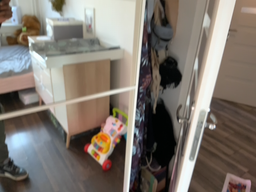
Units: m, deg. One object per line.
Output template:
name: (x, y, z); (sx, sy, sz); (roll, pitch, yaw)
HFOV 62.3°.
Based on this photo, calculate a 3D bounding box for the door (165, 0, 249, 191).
door: (0.330, 0.050, 1.080); (0.080, 2.030, 0.820); (11, 27, 13)
